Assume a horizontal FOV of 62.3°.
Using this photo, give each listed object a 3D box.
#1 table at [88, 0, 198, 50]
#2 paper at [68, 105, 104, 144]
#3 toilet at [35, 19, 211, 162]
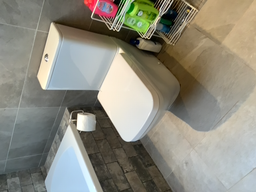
[{"bbox_3d":[0.110,-0.520,1.320,0.190,0.610,0.320,55,128,35],"label":"table"},{"bbox_3d":[-0.300,0.200,1.490,0.150,0.130,0.230,55,128,35],"label":"paper"},{"bbox_3d":[-0.040,-0.050,1.320,0.650,0.810,0.390,54,127,36],"label":"toilet"}]
